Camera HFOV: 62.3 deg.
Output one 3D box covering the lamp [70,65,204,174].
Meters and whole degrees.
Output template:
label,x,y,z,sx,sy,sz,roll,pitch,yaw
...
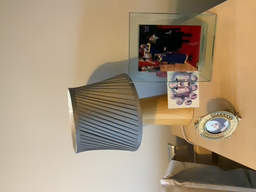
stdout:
label,x,y,z,sx,sy,sz,roll,pitch,yaw
lamp,0.010,0.050,0.700,0.250,0.370,0.270,-178,85,-73
